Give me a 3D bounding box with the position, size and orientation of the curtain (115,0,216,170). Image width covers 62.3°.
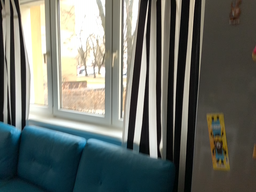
[{"bbox_3d":[0.240,-0.360,1.480,0.630,1.610,0.170,7,10,29],"label":"curtain"}]

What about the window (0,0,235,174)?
[{"bbox_3d":[-0.510,-0.390,2.210,2.820,1.590,0.240,7,10,30],"label":"window"}]
